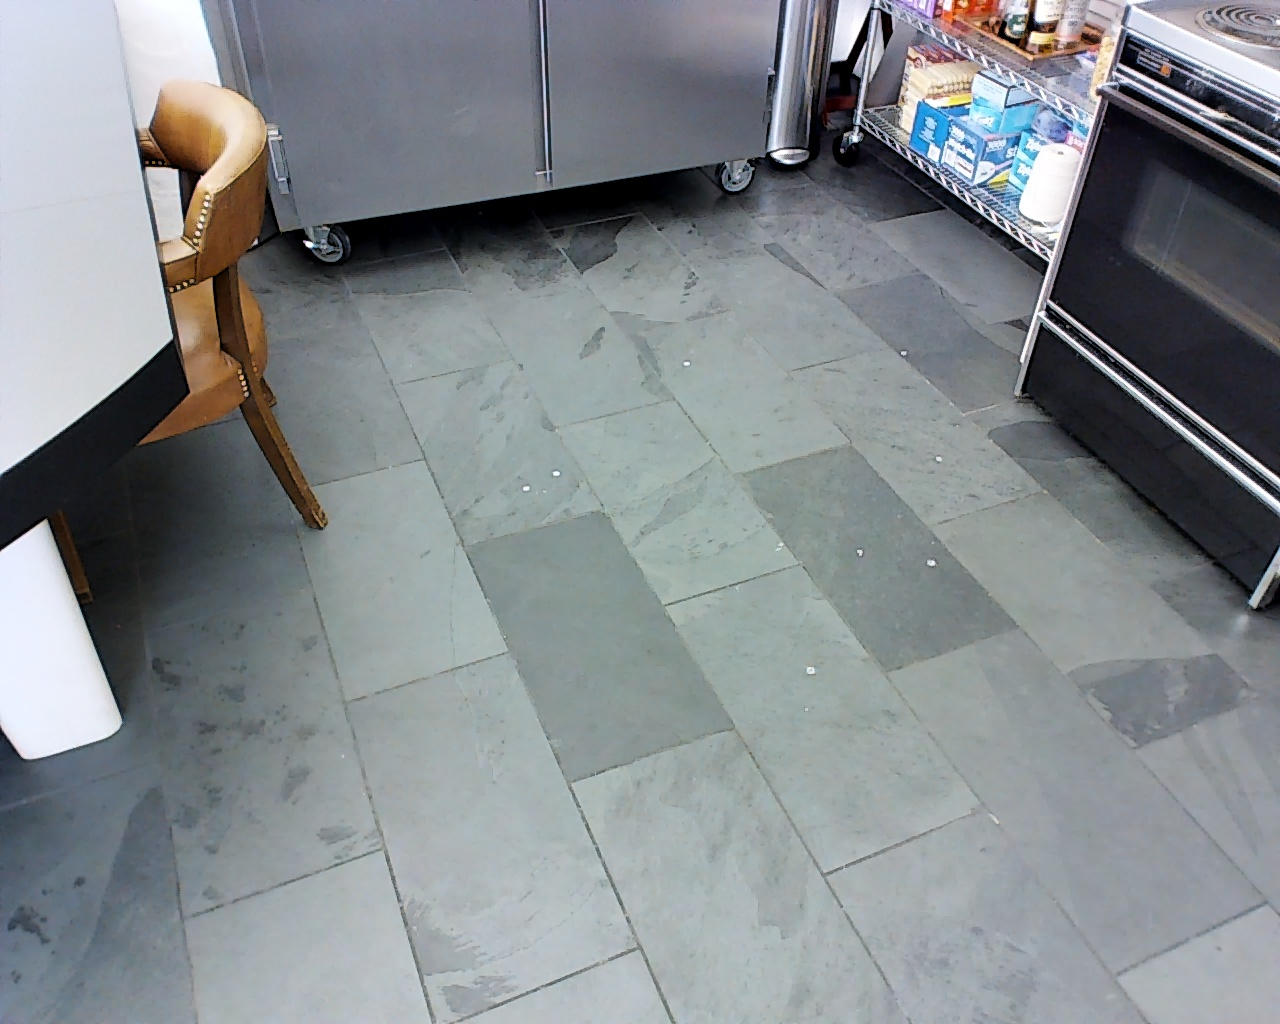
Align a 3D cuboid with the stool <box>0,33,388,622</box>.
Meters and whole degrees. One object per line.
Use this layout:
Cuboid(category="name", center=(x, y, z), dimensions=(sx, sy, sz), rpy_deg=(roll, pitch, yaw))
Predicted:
Cuboid(category="stool", center=(-0.930, -0.360, 2.050), dimensions=(0.640, 0.800, 0.600), rpy_deg=(-16, 45, -18))
